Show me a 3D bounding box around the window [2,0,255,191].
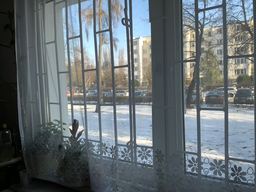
[{"bbox_3d":[-0.230,-0.300,1.350,1.860,1.840,0.130,1,5,33],"label":"window"}]
